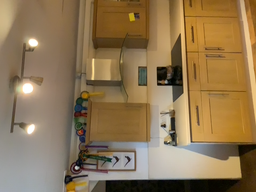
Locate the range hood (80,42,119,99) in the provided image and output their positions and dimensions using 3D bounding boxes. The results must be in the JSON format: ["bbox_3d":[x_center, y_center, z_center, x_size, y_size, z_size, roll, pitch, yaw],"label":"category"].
[{"bbox_3d":[-0.380,-0.360,3.030,0.320,0.500,0.740,97,173,-76],"label":"range hood"}]
